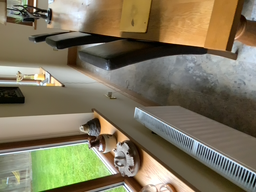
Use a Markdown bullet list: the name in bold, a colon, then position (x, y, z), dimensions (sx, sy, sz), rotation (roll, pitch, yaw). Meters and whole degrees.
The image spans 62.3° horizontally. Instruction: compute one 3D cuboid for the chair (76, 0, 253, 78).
- **chair**: position (0.260, -0.510, 1.370), dimensions (0.480, 1.010, 0.670), rotation (26, 112, 52)
